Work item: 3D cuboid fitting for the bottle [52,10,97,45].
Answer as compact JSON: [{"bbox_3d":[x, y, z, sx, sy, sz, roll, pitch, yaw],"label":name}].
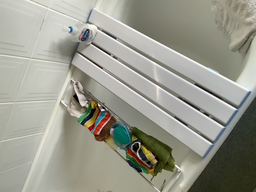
[{"bbox_3d":[-0.220,-0.280,0.880,0.090,0.140,0.080,34,108,23],"label":"bottle"}]
